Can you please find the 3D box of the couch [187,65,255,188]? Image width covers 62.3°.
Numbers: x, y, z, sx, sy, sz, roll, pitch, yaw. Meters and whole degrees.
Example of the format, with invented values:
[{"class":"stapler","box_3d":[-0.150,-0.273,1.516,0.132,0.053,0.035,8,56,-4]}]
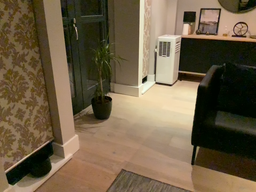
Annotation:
[{"class":"couch","box_3d":[0.970,0.200,1.880,0.680,0.710,0.810,10,24,21]}]
